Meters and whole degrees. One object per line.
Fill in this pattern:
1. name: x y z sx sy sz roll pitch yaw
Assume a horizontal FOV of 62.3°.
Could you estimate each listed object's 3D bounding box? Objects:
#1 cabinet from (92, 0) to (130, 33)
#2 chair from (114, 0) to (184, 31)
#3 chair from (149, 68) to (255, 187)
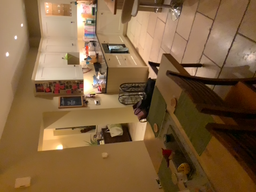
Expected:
1. cabinet: -0.490 -2.360 5.730 0.650 0.870 1.070 -113 26 -51
2. chair: 0.280 -1.330 3.140 0.480 0.860 0.470 118 147 -60
3. chair: 0.740 0.190 1.500 0.430 1.000 0.630 -113 26 -52
